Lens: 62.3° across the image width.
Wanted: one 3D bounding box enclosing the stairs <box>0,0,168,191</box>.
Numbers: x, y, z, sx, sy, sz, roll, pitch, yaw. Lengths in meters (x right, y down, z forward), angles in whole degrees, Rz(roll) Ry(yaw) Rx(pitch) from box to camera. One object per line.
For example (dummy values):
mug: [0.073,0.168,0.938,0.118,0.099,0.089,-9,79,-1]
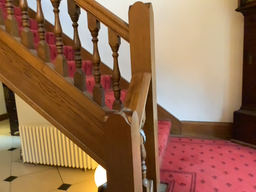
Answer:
stairs: [-1.200,-0.450,2.430,3.070,3.290,1.160,1,10,19]
